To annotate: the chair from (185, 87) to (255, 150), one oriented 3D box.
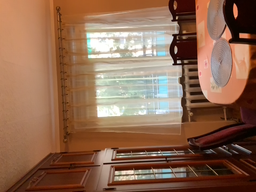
[{"bbox_3d":[1.040,0.190,1.870,0.410,0.930,0.470,99,169,-81],"label":"chair"}]
